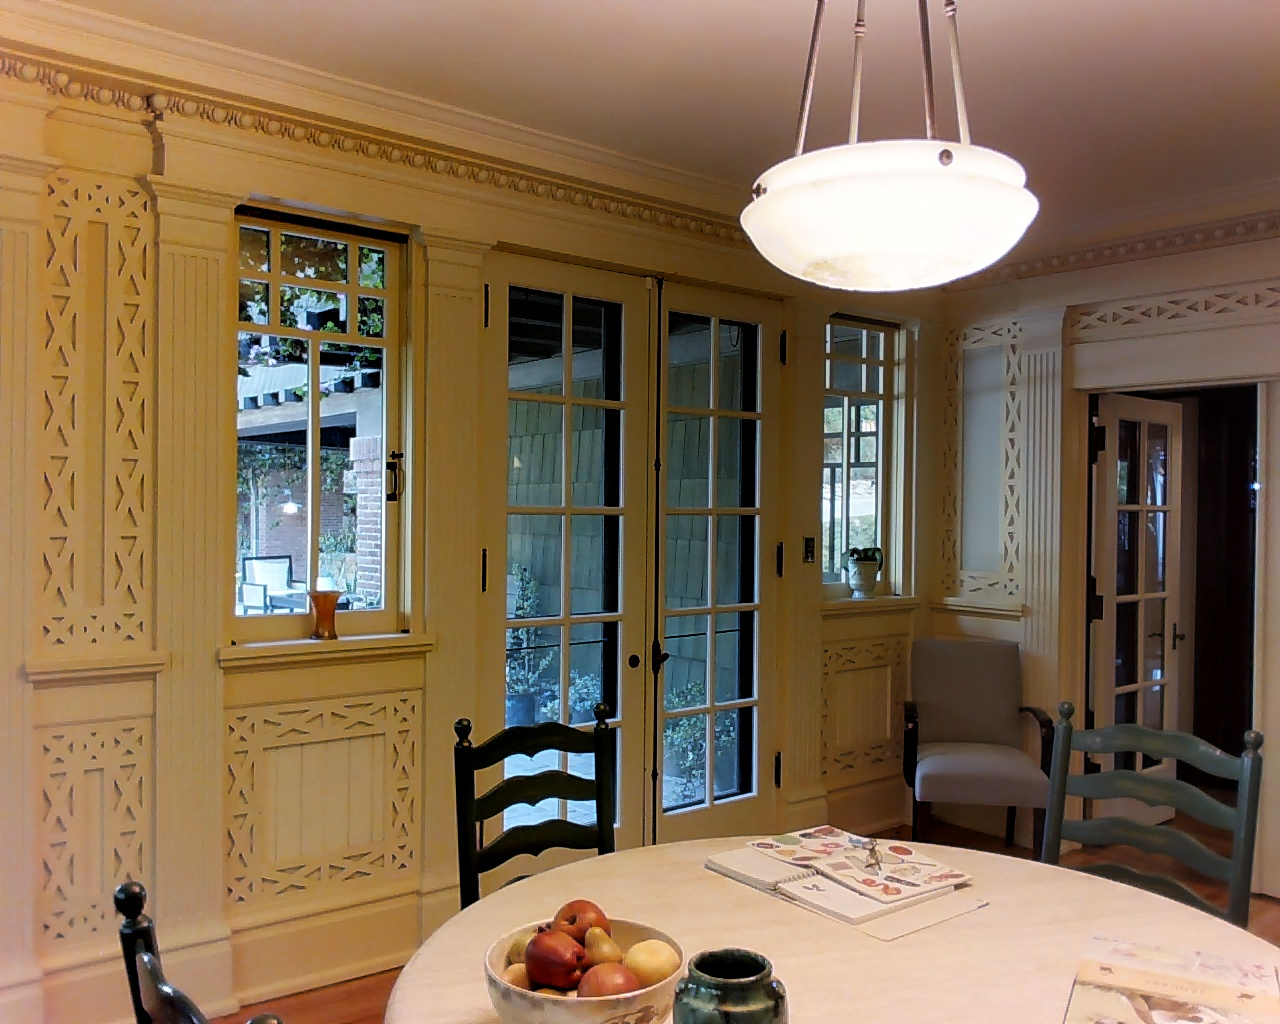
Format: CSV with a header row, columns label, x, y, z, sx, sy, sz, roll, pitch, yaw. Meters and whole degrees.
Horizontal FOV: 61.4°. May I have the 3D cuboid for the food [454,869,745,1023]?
label,x,y,z,sx,sy,sz,roll,pitch,yaw
food,-0.060,0.650,1.510,0.290,0.160,0.290,0,1,-38

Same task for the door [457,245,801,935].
label,x,y,z,sx,sy,sz,roll,pitch,yaw
door,0.020,0.280,4.310,1.550,2.410,0.180,0,1,-38
